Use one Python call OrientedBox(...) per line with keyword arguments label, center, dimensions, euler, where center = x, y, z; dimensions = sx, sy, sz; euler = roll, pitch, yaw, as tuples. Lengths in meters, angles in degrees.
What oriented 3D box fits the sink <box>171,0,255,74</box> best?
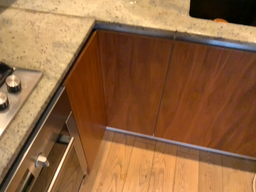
OrientedBox(label="sink", center=(0.430, -0.350, 1.010), dimensions=(0.370, 0.250, 0.370), euler=(11, 50, 6))
